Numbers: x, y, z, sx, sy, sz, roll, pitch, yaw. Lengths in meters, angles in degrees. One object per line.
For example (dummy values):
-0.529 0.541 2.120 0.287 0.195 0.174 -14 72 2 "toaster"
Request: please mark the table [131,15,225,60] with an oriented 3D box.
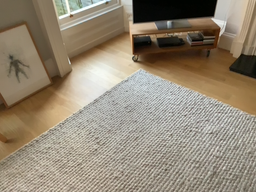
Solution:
0.580 -0.740 2.660 1.050 0.380 0.320 -4 40 -1 "table"
